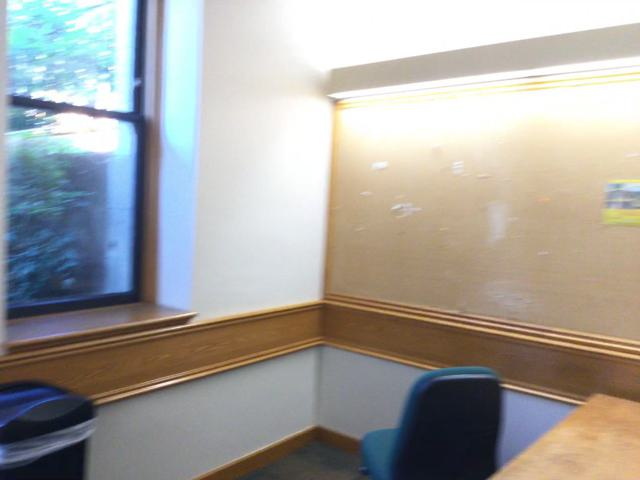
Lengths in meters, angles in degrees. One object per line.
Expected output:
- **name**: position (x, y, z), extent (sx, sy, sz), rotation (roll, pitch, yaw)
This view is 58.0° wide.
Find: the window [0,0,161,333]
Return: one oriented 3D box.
- **window**: position (-1.250, -0.530, 2.780), extent (0.360, 1.810, 0.870), rotation (5, 5, 39)
